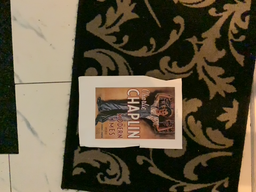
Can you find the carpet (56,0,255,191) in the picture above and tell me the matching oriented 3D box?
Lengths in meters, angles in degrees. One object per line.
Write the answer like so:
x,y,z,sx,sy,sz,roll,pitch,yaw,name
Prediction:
0.090,-0.060,0.610,0.510,0.050,0.750,7,92,3,carpet
